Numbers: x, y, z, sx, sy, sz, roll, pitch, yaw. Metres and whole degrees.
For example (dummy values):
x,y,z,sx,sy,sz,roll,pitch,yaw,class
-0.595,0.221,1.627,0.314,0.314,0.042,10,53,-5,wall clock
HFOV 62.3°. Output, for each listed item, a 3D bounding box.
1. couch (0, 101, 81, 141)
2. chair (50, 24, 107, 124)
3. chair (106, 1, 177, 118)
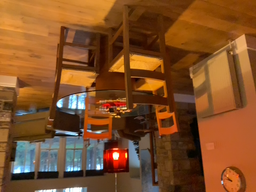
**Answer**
x,y,z,sx,sy,sz,roll,pitch,yaw,class
-2.320,0.750,5.750,1.680,0.780,1.150,-9,163,24,couch
-0.540,-0.200,2.310,0.500,0.930,0.450,5,163,-24,chair
0.090,-0.300,2.030,0.450,0.930,0.500,5,162,-24,chair
